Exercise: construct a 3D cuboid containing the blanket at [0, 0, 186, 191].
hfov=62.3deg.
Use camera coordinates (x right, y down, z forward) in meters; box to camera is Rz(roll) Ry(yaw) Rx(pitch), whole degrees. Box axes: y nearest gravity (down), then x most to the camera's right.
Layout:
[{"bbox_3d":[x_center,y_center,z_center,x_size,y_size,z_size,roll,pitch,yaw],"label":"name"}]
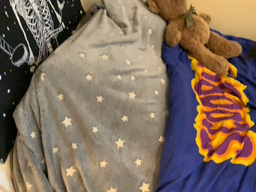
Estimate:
[{"bbox_3d":[-0.080,-0.090,0.810,0.410,0.300,0.910,0,46,3],"label":"blanket"}]
